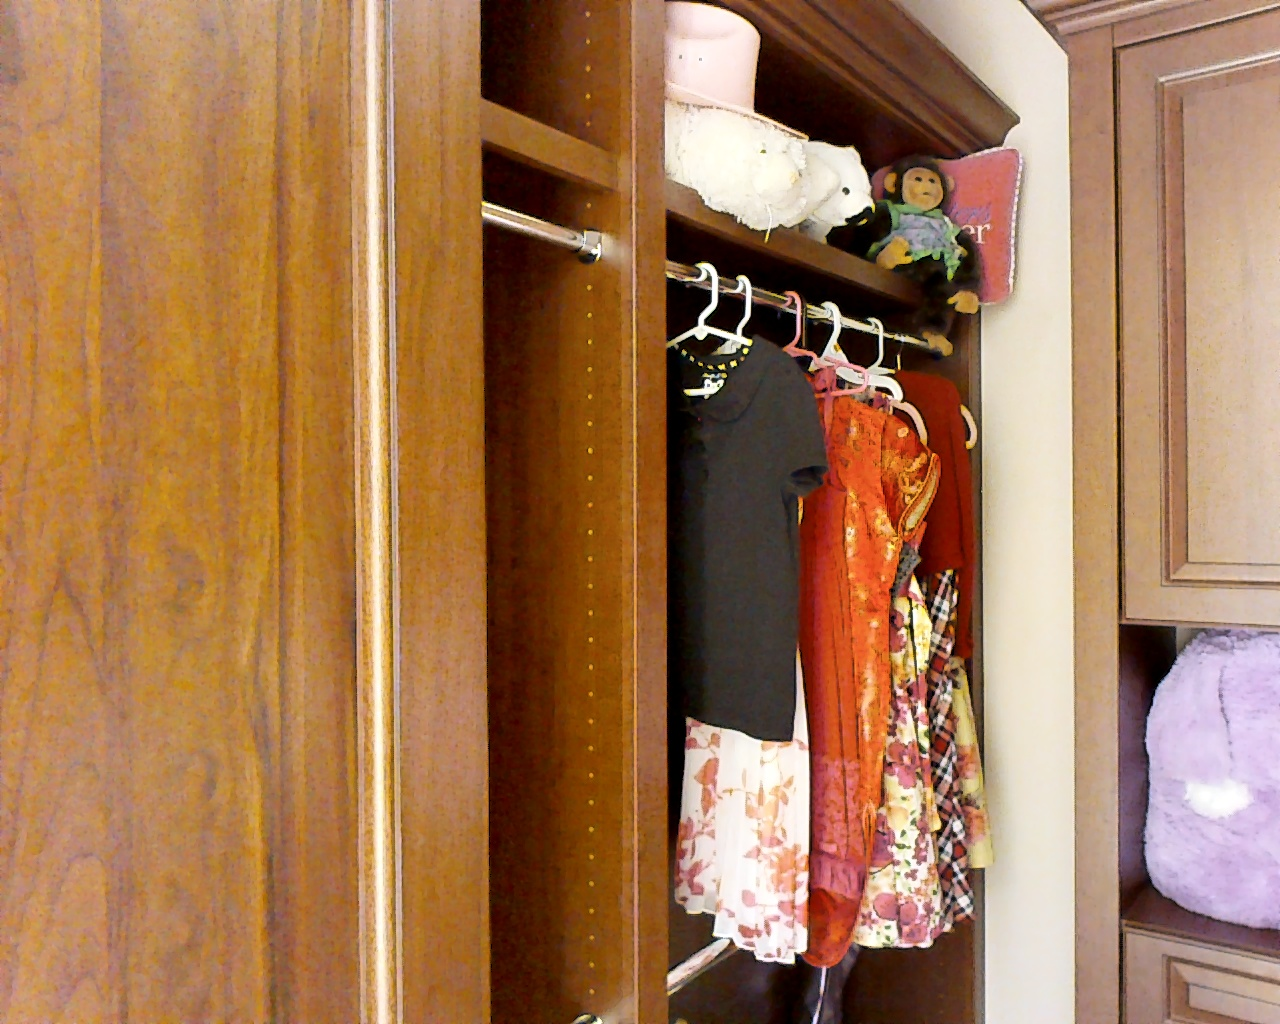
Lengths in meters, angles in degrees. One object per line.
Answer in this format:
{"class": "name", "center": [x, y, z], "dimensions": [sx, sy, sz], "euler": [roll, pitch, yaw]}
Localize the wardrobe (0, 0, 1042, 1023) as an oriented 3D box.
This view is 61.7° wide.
{"class": "wardrobe", "center": [0.050, 0.350, 1.490], "dimensions": [0.490, 2.410, 1.780], "euler": [0, 1, 36]}
